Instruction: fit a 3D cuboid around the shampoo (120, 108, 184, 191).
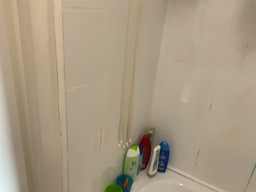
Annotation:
[{"bbox_3d":[0.120,0.270,1.070,0.190,0.310,0.250,19,27,26],"label":"shampoo"}]
